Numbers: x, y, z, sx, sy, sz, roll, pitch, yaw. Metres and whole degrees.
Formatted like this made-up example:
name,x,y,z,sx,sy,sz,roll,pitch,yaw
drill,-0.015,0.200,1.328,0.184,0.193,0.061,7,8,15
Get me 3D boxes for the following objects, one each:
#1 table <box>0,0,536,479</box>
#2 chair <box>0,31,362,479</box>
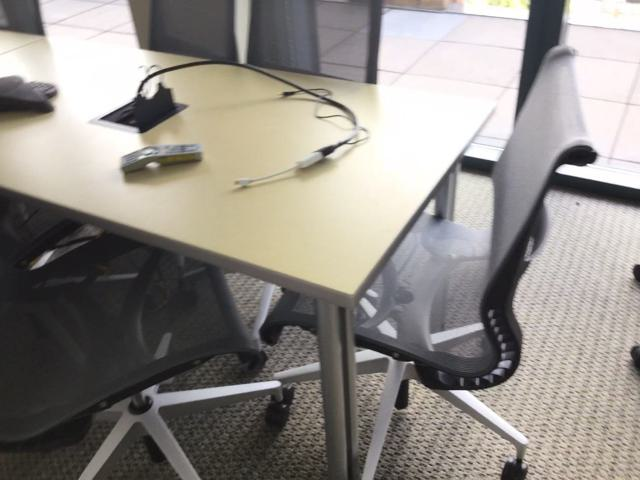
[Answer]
name,x,y,z,sx,sy,sz,roll,pitch,yaw
table,-1.040,-0.220,1.850,3.010,0.820,0.950,17,38,25
chair,-0.410,0.210,1.100,0.710,0.930,0.760,-12,36,-16
